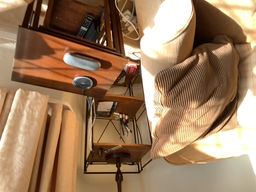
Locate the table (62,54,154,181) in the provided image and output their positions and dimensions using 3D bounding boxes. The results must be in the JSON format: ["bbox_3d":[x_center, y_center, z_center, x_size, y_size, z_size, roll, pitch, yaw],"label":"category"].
[{"bbox_3d":[-0.140,0.140,1.590,0.530,0.810,0.370,-7,146,1],"label":"table"}]
